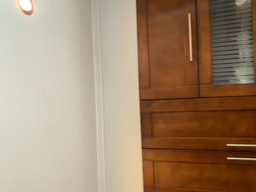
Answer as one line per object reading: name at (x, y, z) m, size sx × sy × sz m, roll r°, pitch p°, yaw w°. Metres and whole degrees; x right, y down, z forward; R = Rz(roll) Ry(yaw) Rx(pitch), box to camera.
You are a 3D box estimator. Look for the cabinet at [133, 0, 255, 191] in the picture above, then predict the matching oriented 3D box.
cabinet at (0.460, 0.150, 1.360) m, size 0.340 × 0.740 × 1.670 m, roll 0°, pitch -93°, yaw -74°
